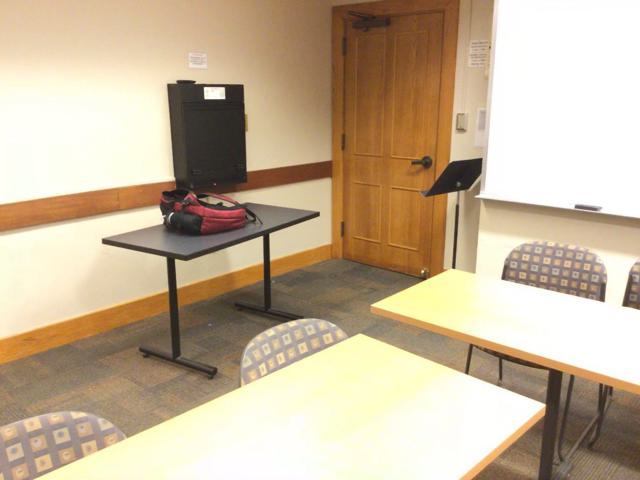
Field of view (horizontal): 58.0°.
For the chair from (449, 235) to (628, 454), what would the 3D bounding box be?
[{"bbox_3d":[0.910,0.390,2.440,0.520,0.670,0.510,-16,19,-42],"label":"chair"}]
